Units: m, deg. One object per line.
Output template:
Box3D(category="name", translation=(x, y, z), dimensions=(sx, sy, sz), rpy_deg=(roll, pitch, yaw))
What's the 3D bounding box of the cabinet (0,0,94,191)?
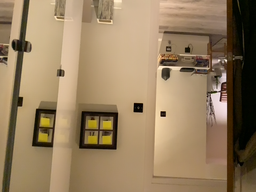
Box3D(category="cabinet", translation=(-0.660, -0.190, 0.890), dimensions=(0.550, 2.370, 2.220), rpy_deg=(3, 174, 1))
